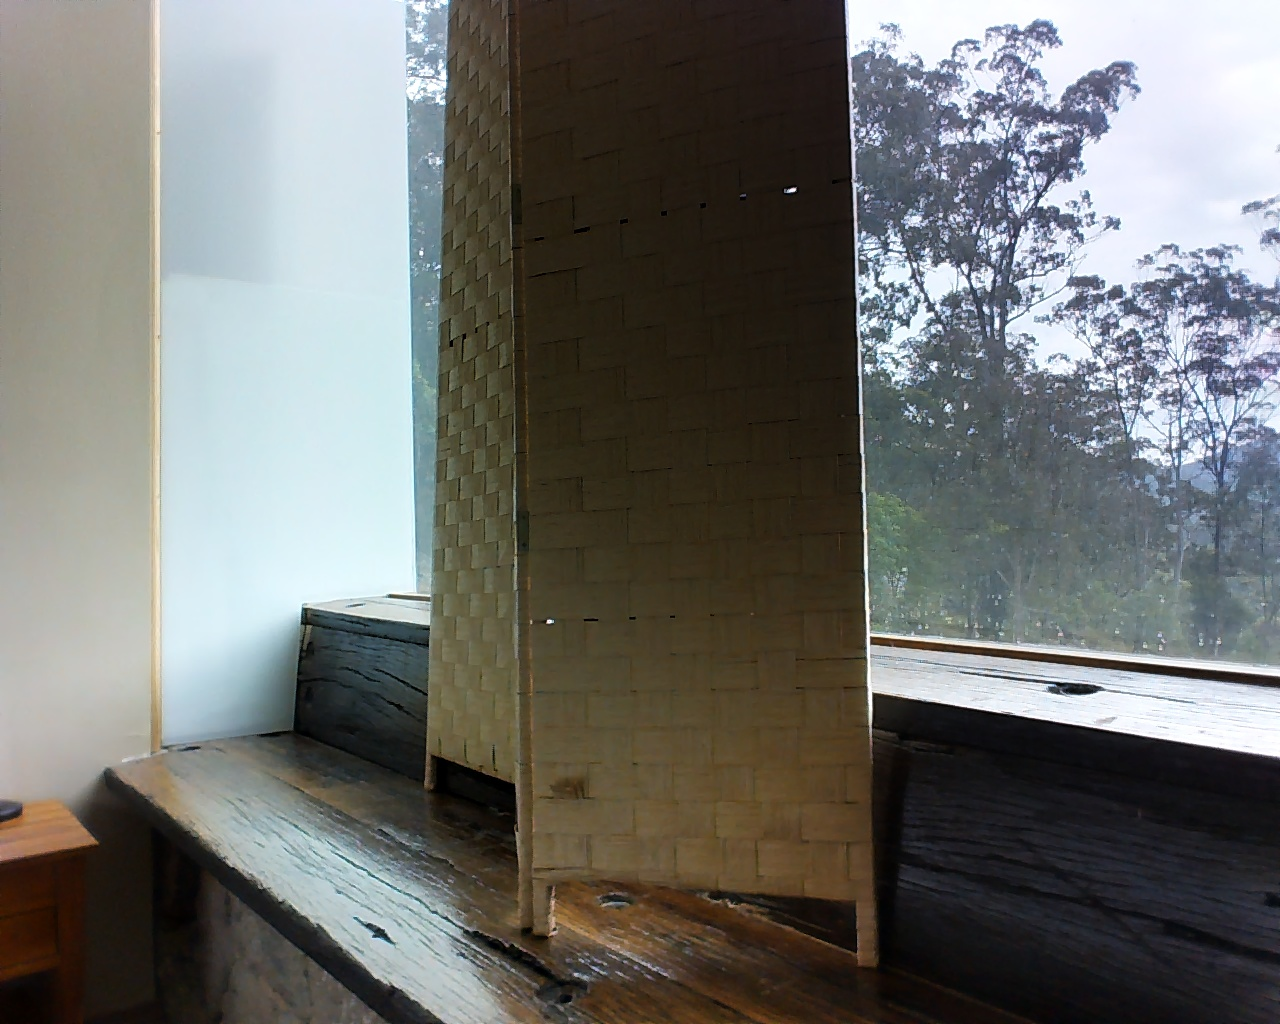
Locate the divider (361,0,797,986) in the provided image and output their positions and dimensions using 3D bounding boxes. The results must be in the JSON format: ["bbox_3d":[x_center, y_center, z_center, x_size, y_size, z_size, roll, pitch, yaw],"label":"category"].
[{"bbox_3d":[-0.190,-0.370,1.600,0.210,1.661,1.150,-1,-1,-25],"label":"divider"}]

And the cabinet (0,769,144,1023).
[{"bbox_3d":[-1.269,0.860,1.970,0.580,0.620,0.430,0,-1,-37],"label":"cabinet"}]
